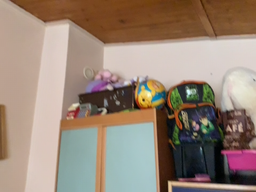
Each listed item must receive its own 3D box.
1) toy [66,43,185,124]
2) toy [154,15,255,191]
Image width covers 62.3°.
[{"bbox_3d":[-0.010,-0.040,1.750,0.820,0.440,0.490,-8,-16,26],"label":"toy"},{"bbox_3d":[0.720,0.070,1.220,0.930,0.790,0.630,-9,-17,29],"label":"toy"}]
